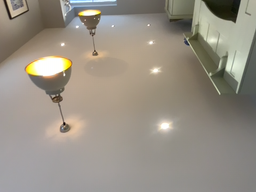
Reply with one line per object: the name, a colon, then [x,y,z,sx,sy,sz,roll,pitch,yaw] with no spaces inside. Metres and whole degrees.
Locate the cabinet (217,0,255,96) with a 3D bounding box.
cabinet: [1.070,-0.600,1.580,0.460,1.220,0.320,-1,-146,1]
